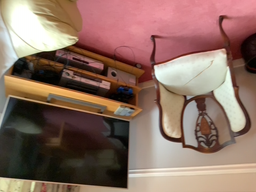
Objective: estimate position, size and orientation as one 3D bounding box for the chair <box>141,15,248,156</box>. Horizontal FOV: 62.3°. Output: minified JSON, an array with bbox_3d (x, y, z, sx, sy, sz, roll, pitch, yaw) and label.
[{"bbox_3d":[0.540,-0.040,1.810,0.660,0.910,0.590,-13,149,24],"label":"chair"}]
